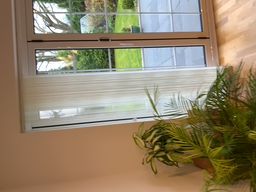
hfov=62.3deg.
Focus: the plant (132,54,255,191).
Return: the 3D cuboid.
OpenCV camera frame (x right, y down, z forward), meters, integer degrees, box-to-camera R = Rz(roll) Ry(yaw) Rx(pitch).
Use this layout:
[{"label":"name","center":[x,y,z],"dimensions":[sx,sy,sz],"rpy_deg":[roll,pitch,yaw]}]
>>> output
[{"label":"plant","center":[0.700,0.230,1.420],"dimensions":[1.330,1.030,0.790],"rpy_deg":[180,86,-79]}]
